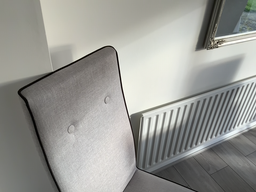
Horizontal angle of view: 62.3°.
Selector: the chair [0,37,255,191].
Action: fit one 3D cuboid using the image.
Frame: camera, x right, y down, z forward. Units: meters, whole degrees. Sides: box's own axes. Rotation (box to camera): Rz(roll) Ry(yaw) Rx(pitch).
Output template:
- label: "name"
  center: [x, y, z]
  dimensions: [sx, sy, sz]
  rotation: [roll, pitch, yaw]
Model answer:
- label: "chair"
  center: [0.070, 0.410, 0.820]
  dimensions: [0.640, 1.030, 0.450]
  rotation: [22, 40, 23]
